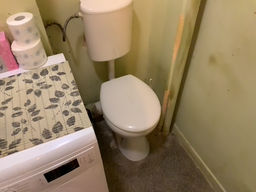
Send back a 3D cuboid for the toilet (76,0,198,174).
[{"bbox_3d":[0.000,-0.040,1.320,0.360,0.960,0.570,-17,49,-15],"label":"toilet"}]
